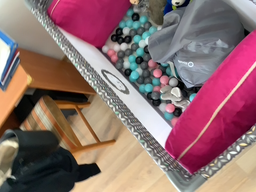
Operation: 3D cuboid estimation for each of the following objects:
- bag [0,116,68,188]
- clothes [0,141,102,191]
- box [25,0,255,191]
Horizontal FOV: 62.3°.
[{"bbox_3d":[-0.580,0.300,1.210,0.210,0.290,0.300,44,105,22],"label":"bag"},{"bbox_3d":[-0.430,0.480,1.020,0.280,0.390,0.390,44,105,22],"label":"clothes"},{"bbox_3d":[0.180,-0.330,1.290,0.660,0.830,1.450,-47,68,15],"label":"box"}]
